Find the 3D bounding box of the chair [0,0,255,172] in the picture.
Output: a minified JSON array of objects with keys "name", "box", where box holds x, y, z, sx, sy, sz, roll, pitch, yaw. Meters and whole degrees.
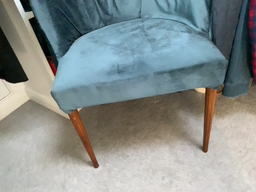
[{"name":"chair","box":[0.010,-0.160,0.790,0.550,0.660,0.520,-9,41,2]}]
